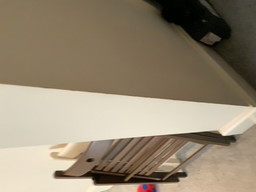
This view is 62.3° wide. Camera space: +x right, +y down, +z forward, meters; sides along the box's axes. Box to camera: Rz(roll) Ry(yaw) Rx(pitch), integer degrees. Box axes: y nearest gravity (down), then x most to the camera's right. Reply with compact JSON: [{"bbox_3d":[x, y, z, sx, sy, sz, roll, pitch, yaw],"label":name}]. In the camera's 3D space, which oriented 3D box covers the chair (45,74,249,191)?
[{"bbox_3d":[0.140,0.240,1.070,0.510,0.880,0.310,-51,53,30],"label":"chair"}]
